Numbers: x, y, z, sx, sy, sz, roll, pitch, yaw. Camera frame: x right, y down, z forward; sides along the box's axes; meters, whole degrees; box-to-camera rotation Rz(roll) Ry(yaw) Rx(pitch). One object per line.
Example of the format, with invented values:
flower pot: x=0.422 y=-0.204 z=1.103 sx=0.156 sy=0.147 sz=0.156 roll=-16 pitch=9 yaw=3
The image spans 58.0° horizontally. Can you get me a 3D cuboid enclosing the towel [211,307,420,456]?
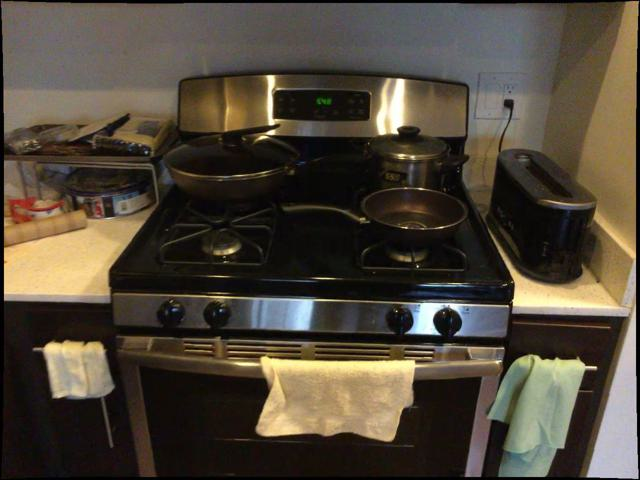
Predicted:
towel: x=-0.010 y=0.271 z=1.120 sx=0.359 sy=0.200 sz=0.180 roll=2 pitch=27 yaw=0

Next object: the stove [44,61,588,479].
stove: x=-0.020 y=0.211 z=1.460 sx=0.798 sy=1.122 sz=0.810 roll=2 pitch=27 yaw=0

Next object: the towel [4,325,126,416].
towel: x=-0.519 y=0.271 z=1.190 sx=0.200 sy=0.190 sz=0.050 roll=2 pitch=27 yaw=0

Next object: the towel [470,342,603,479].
towel: x=0.429 y=0.381 z=1.180 sx=0.170 sy=0.341 sz=0.100 roll=2 pitch=27 yaw=0

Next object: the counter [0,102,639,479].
counter: x=-0.349 y=0.441 z=0.360 sx=1.866 sy=0.321 sz=2.901 roll=2 pitch=27 yaw=0
